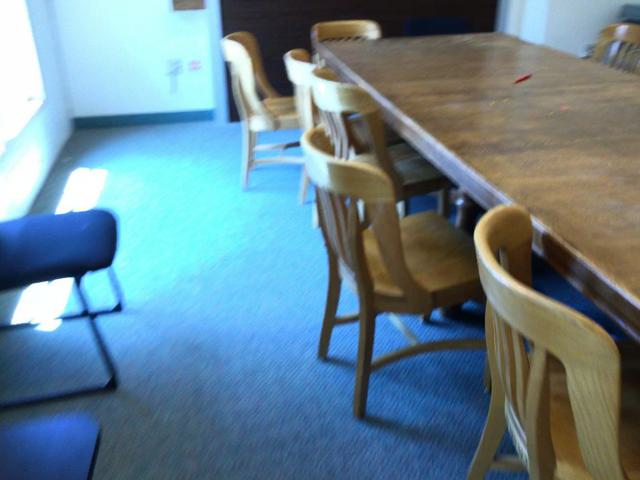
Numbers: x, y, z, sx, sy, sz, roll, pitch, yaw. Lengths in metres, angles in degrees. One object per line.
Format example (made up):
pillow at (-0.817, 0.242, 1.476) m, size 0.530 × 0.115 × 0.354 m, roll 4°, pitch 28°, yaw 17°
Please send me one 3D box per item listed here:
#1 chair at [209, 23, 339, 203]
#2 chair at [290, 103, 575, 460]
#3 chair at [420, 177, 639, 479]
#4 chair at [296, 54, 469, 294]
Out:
chair at (-0.270, -0.760, 3.370) m, size 0.620 × 0.860 × 0.590 m, roll -7°, pitch 27°, yaw -9°
chair at (0.270, 0.080, 1.780) m, size 0.580 × 0.810 × 0.650 m, roll -7°, pitch 27°, yaw -9°
chair at (0.540, 0.370, 1.190) m, size 0.470 × 0.810 × 0.560 m, roll -7°, pitch 27°, yaw -9°
chair at (0.240, -0.310, 2.520) m, size 0.550 × 0.850 × 0.570 m, roll -7°, pitch 27°, yaw -9°
